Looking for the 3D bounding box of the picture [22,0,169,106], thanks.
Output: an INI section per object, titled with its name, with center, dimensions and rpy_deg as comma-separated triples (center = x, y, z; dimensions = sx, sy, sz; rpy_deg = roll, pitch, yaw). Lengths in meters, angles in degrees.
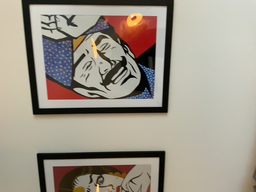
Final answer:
[picture]
center = -0.160, -0.220, 1.140
dimensions = 0.030, 0.730, 0.560
rpy_deg = -104, 14, -76
